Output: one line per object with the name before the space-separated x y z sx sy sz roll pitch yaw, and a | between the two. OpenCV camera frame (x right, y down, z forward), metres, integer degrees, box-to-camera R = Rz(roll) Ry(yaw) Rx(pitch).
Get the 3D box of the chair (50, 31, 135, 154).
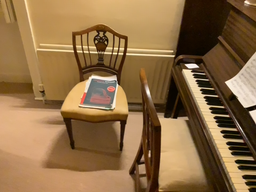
chair | -0.240 -0.010 1.640 0.470 0.770 0.530 1 39 -5
